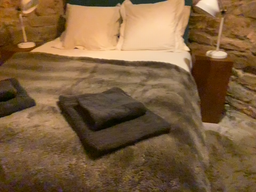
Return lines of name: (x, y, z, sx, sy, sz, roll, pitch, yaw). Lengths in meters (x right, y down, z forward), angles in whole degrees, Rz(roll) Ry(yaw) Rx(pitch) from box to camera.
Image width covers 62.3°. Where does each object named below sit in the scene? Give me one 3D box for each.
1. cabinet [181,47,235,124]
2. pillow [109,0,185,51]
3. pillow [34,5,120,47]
cabinet: (0.780, -0.120, 2.190, 0.380, 0.660, 0.390, 6, 28, 11)
pillow: (0.210, -0.770, 2.200, 0.680, 0.430, 0.510, 6, 28, 11)
pillow: (-0.510, -0.790, 2.330, 0.740, 0.350, 0.520, 5, 28, 9)
